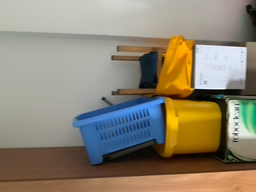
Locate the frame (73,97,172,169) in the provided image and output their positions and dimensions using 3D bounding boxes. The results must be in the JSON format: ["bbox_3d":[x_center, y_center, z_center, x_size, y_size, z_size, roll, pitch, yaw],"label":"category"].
[{"bbox_3d":[-0.060,0.210,1.470,0.480,0.580,0.400,179,91,-81],"label":"frame"}]
